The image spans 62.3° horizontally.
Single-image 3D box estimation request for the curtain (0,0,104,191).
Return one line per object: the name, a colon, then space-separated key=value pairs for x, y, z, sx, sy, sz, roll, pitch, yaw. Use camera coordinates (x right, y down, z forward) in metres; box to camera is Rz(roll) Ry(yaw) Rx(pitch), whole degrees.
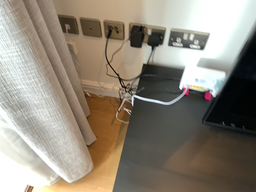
curtain: x=-0.290 y=-0.360 z=0.120 sx=0.250 sy=2.280 sz=0.320 roll=11 pitch=55 yaw=8
